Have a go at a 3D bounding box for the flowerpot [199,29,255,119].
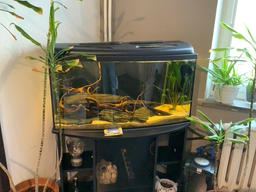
[{"bbox_3d":[0.870,-0.210,1.830,0.370,0.690,0.340,9,18,22],"label":"flowerpot"}]
